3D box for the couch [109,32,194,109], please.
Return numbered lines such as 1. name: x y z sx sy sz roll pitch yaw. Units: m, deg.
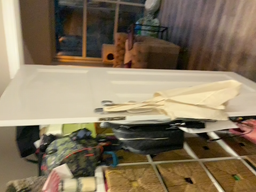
1. couch: 0.250 -0.550 3.780 1.780 0.820 0.910 -124 38 -64
